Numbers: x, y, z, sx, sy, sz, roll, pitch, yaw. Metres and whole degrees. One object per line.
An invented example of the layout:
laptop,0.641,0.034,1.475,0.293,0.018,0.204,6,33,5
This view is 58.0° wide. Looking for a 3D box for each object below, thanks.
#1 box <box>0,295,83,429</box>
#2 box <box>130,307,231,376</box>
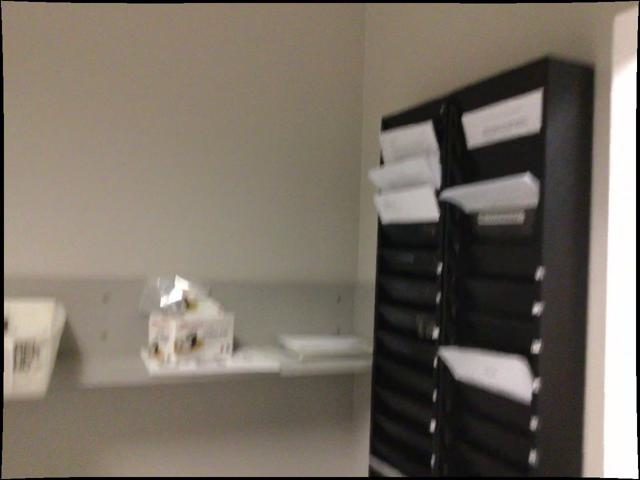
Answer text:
box,-0.648,0.221,1.110,0.339,0.170,0.410,0,1,-25
box,-0.319,0.221,1.300,0.180,0.100,0.230,0,1,-25
